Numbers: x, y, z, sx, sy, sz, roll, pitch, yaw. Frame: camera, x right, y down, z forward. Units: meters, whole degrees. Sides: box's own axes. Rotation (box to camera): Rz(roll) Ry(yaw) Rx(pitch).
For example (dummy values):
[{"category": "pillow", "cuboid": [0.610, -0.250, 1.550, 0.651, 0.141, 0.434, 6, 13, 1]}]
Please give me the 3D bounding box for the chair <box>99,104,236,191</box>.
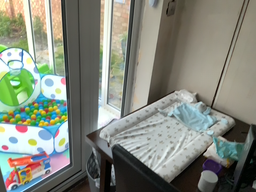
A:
[{"category": "chair", "cuboid": [0.150, 0.590, 1.140, 0.390, 0.910, 0.470, 28, 36, 34]}]
